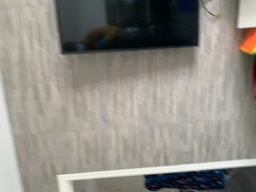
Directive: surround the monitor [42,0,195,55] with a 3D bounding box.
[{"bbox_3d":[-0.010,-0.990,1.140,0.080,0.860,1.440,-92,7,-77],"label":"monitor"}]
